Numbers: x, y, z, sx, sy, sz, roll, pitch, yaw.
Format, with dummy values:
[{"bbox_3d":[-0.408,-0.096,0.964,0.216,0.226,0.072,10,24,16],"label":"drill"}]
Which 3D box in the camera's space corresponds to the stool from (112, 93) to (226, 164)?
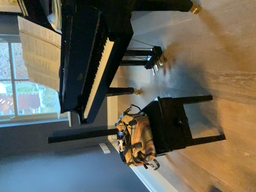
[{"bbox_3d":[0.240,0.310,1.740,0.910,0.480,0.320,131,131,-61],"label":"stool"}]
